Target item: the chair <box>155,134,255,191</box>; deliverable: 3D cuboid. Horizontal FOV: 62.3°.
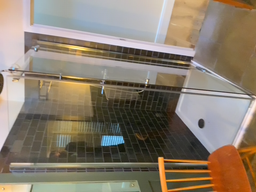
[{"bbox_3d":[0.700,0.590,1.540,0.560,0.800,0.430,119,151,-55],"label":"chair"}]
